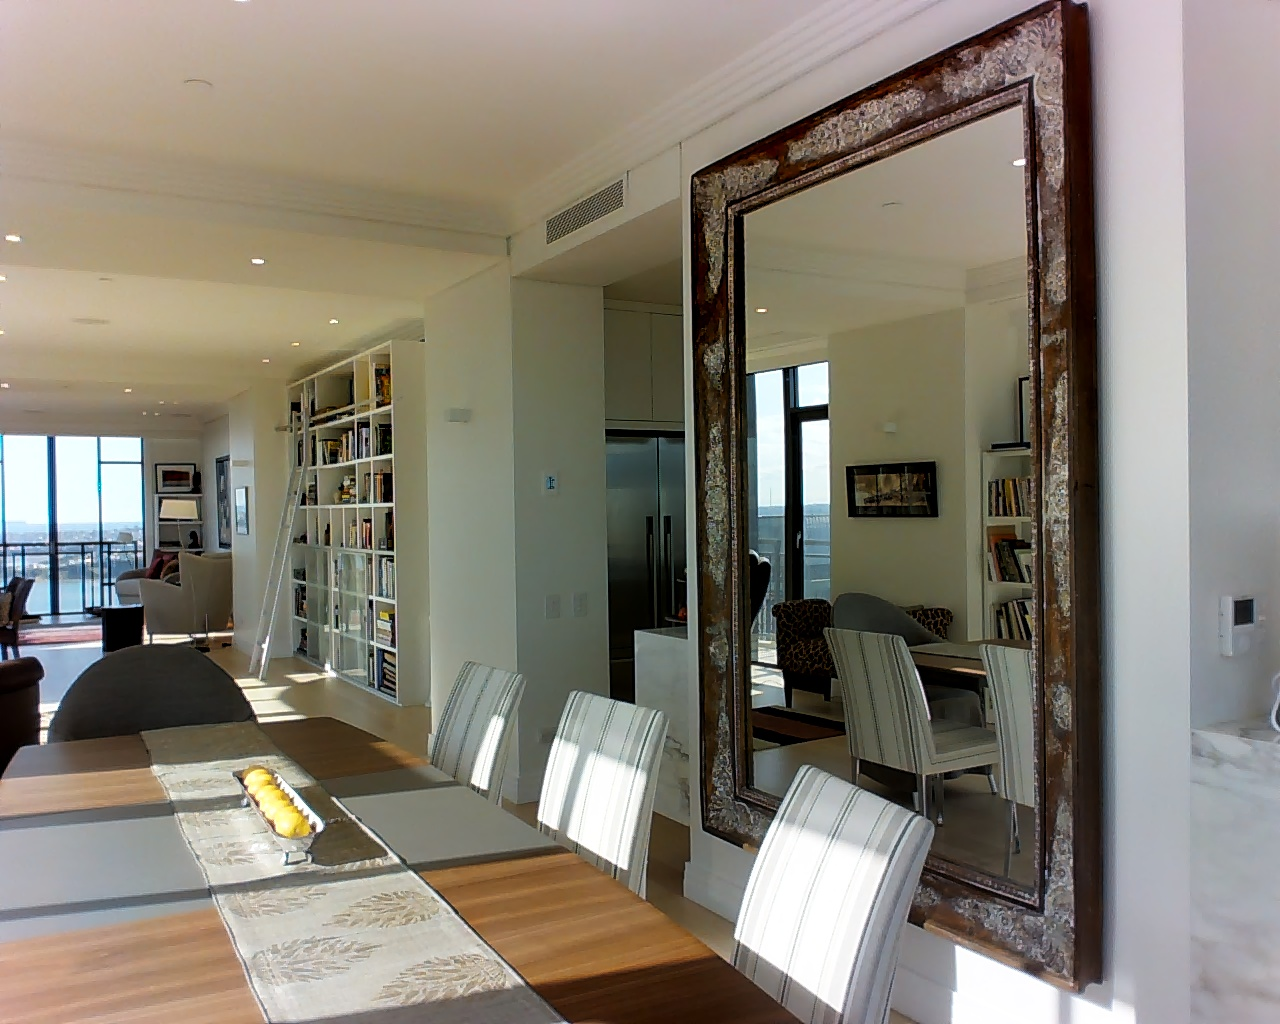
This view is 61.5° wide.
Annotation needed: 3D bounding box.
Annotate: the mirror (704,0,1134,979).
[{"bbox_3d":[0.670,-0.080,3.030,0.150,2.221,1.460,-1,1,-30],"label":"mirror"}]
